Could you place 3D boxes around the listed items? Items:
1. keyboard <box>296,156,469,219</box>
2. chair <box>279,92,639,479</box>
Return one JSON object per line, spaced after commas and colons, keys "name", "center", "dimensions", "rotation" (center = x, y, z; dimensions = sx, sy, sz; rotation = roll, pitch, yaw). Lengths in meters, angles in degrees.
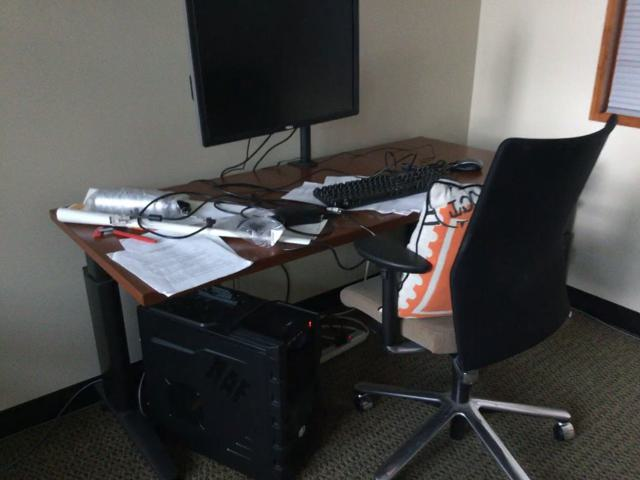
{"name": "keyboard", "center": [0.200, -0.170, 1.750], "dimensions": [0.520, 0.060, 0.200], "rotation": [-17, 24, -34]}
{"name": "chair", "center": [0.420, 0.150, 1.610], "dimensions": [0.740, 0.990, 0.700], "rotation": [-17, 24, -34]}
